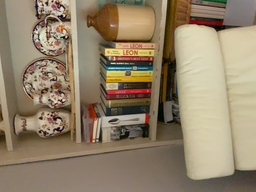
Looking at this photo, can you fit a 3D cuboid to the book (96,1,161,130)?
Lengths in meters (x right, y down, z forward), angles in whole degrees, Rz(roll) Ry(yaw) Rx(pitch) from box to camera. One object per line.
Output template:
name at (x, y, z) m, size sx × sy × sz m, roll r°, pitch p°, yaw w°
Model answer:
book at (-0.010, -0.160, 1.190) m, size 0.270 × 0.280 × 0.620 m, roll -149°, pitch 58°, yaw -70°

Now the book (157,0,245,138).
book at (0.400, -0.400, 1.220) m, size 0.330 × 0.320 × 1.190 m, roll -149°, pitch 58°, yaw -70°
